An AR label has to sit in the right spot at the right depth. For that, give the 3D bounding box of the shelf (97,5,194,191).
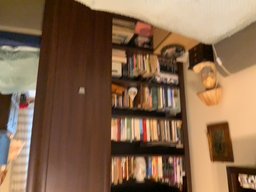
[{"bbox_3d":[0.180,0.060,2.300,0.910,1.970,0.300,5,165,-18],"label":"shelf"}]
